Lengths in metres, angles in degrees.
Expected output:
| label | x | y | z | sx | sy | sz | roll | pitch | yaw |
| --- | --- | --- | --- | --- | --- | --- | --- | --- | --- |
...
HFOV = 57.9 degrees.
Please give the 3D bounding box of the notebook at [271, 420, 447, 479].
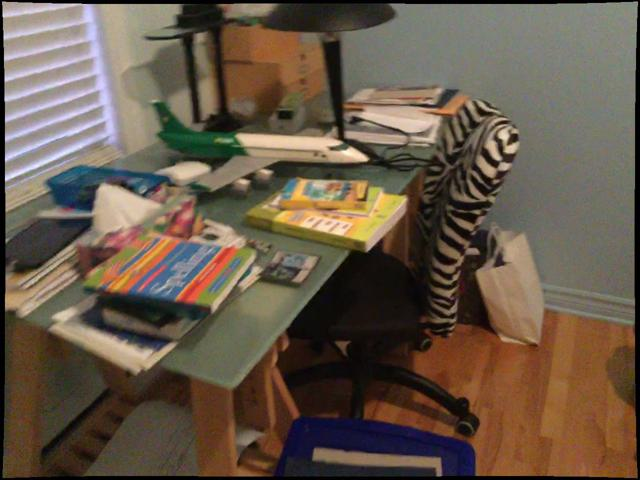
| label | x | y | z | sx | sy | sz | roll | pitch | yaw |
| --- | --- | --- | --- | --- | --- | --- | --- | --- | --- |
| notebook | 0.070 | 0.480 | 1.080 | 0.330 | 0.040 | 0.300 | 3 | 30 | 9 |
